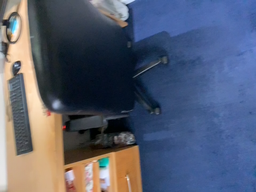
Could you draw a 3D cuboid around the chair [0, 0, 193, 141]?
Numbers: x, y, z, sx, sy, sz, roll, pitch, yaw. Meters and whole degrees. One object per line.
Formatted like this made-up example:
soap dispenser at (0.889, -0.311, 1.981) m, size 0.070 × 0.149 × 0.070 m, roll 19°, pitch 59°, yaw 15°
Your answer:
chair at (-0.200, -0.110, 1.190) m, size 0.680 × 1.020 × 0.560 m, roll -15°, pitch 80°, yaw 36°
